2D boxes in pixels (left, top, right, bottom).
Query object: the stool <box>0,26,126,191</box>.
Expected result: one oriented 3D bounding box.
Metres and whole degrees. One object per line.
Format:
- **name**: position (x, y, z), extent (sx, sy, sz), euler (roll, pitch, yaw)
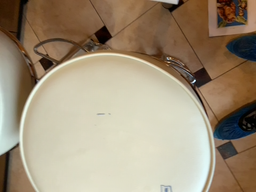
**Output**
- **stool**: position (-0.310, -0.060, 0.820), extent (0.340, 0.850, 0.340), euler (13, 103, 12)
